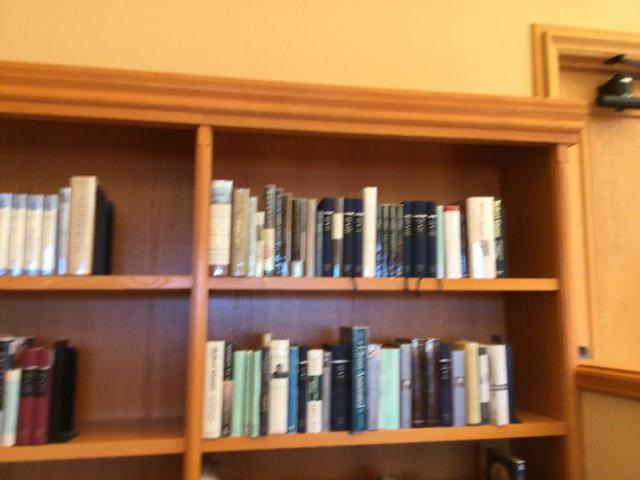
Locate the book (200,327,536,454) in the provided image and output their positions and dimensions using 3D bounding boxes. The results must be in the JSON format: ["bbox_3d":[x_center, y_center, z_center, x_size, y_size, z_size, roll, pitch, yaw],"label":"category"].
[{"bbox_3d":[0.130,0.370,1.450,0.830,0.280,0.100,3,-11,-12],"label":"book"}]

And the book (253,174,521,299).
[{"bbox_3d":[0.180,0.000,1.510,0.690,0.280,0.090,3,-11,-12],"label":"book"}]
